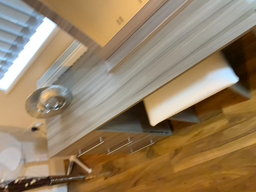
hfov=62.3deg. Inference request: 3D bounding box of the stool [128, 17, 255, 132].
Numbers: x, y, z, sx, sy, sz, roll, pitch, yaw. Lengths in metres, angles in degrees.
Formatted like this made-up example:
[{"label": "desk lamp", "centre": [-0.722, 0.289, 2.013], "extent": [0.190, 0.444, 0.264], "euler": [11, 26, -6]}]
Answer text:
[{"label": "stool", "centre": [0.380, -0.060, 1.210], "extent": [0.460, 0.510, 0.360], "euler": [-35, 59, 32]}]
